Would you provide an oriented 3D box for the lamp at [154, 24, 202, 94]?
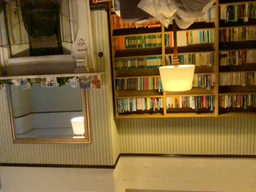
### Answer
[{"bbox_3d":[0.640,-0.460,2.720,0.440,0.800,0.390,-9,-170,-36],"label":"lamp"}]

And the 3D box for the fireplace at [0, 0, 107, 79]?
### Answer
[{"bbox_3d":[-1.370,-0.940,3.120,1.880,1.300,0.910,-1,-172,8],"label":"fireplace"}]
